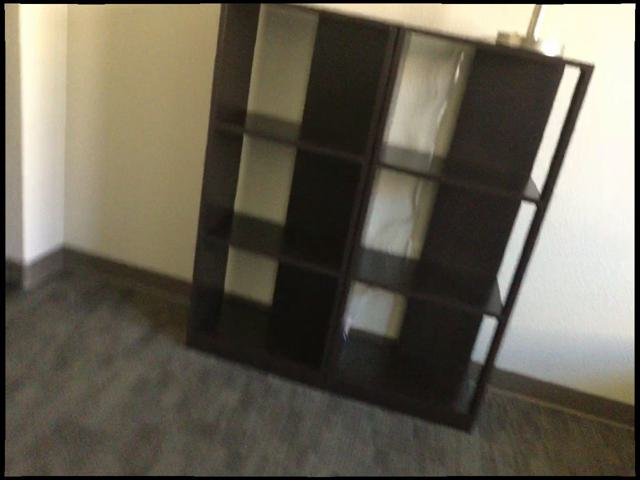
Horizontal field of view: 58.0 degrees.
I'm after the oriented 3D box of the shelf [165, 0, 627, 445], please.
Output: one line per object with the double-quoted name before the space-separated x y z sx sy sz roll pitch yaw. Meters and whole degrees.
"shelf" 0.150 -0.090 1.970 1.158 1.232 0.460 14 24 7
